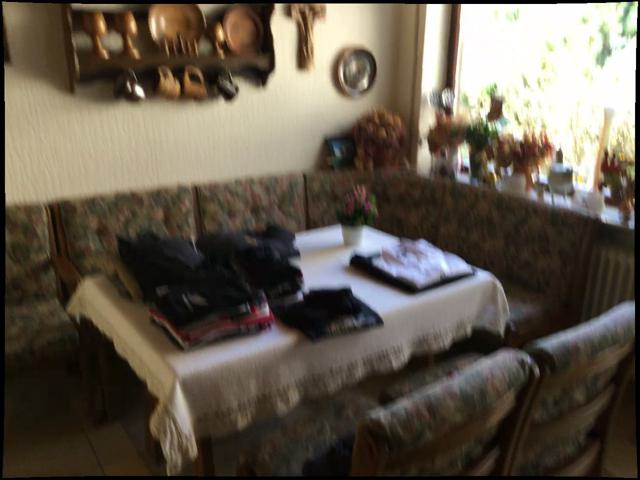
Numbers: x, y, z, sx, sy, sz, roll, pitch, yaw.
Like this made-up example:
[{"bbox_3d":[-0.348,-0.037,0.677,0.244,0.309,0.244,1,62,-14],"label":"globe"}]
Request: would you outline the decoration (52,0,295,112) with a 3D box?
[{"bbox_3d":[-0.649,-1.081,2.780,1.149,0.841,0.160,-12,23,-33],"label":"decoration"}]
